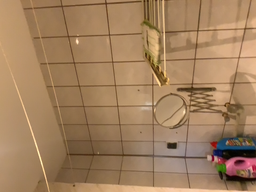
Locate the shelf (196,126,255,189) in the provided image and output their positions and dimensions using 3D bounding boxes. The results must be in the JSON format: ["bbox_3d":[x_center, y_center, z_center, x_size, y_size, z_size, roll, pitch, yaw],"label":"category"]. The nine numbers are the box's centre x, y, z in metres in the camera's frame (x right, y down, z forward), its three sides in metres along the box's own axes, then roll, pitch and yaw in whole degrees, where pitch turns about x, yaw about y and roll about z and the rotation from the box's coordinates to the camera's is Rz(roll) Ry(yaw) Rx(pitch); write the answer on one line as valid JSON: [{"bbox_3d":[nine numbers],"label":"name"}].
[{"bbox_3d":[0.790,0.400,1.350,0.300,0.610,0.340,77,-167,-64],"label":"shelf"}]
